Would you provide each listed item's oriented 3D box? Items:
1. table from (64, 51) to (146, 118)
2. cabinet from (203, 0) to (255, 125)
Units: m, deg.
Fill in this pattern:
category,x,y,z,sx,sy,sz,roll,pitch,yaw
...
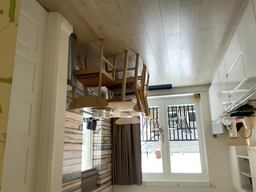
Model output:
category,x,y,z,sx,sy,sz,roll,pitch,yaw
table,-0.290,-0.090,3.760,1.000,0.750,1.470,-4,167,12
cabinet,1.670,-0.140,3.310,0.590,0.910,3.210,-4,167,13
